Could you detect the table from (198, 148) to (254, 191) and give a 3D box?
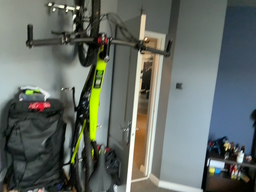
[{"bbox_3d":[1.280,1.070,2.850,0.560,0.530,0.390,7,8,14],"label":"table"}]

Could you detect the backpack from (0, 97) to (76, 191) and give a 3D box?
[{"bbox_3d":[-0.770,0.410,1.770,0.560,0.760,0.300,1,9,-26],"label":"backpack"}]

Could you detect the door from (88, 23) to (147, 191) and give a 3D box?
[{"bbox_3d":[-0.190,0.330,2.310,0.090,2.040,0.950,1,9,-27],"label":"door"}]
